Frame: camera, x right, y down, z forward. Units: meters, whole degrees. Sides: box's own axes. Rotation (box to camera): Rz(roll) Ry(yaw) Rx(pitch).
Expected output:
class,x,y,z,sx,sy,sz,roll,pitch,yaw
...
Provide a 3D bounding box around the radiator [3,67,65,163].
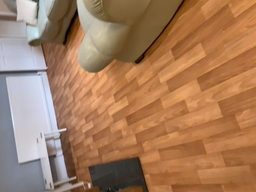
class,x,y,z,sx,sy,sz,roll,pitch,yaw
radiator,-1.940,0.310,4.340,0.200,0.850,1.870,-35,67,53

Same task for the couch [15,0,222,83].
class,x,y,z,sx,sy,sz,roll,pitch,yaw
couch,-0.220,-0.880,1.490,1.060,0.920,1.170,-38,65,52
